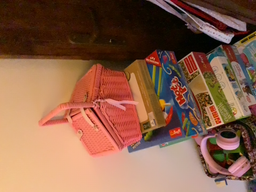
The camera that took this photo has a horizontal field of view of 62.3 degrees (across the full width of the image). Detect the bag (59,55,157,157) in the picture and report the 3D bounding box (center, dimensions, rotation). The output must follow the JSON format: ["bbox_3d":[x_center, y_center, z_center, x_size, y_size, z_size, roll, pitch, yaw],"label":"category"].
[{"bbox_3d":[-0.070,0.030,0.660,0.170,0.190,0.250,-32,70,48],"label":"bag"}]
